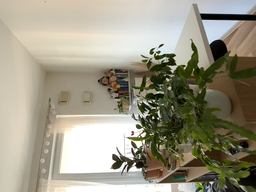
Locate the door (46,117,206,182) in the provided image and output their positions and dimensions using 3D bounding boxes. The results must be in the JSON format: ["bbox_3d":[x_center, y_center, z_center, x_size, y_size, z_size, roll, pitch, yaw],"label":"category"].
[{"bbox_3d":[-0.020,0.880,3.650,0.230,2.490,1.030,99,170,-60],"label":"door"}]

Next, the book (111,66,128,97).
[{"bbox_3d":[-0.160,-0.270,3.920,0.220,0.290,0.520,100,169,-62],"label":"book"}]
